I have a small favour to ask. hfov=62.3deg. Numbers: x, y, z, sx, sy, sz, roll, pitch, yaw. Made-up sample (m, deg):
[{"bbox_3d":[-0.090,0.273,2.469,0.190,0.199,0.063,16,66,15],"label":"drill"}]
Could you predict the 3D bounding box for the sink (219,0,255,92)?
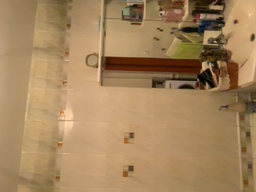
[{"bbox_3d":[0.910,-0.470,1.580,0.490,0.210,0.800,98,174,-80],"label":"sink"}]
